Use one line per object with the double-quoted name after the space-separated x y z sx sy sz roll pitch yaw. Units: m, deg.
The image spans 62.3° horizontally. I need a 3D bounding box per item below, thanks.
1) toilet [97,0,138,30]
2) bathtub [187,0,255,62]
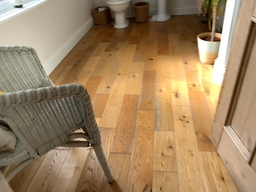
-0.140 -1.480 3.140 0.460 0.790 0.670 1 35 10 "toilet"
1.180 -1.020 2.420 0.770 0.580 1.650 1 35 8 "bathtub"
